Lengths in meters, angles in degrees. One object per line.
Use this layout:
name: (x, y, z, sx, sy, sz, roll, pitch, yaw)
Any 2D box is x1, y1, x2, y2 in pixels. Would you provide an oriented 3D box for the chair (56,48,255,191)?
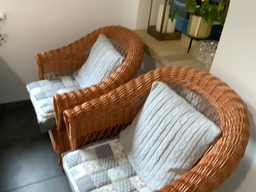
chair: (0.100, 0.340, 1.120, 0.690, 0.900, 0.710, -13, 38, -27)

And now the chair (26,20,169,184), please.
chair: (-0.270, -0.020, 1.620, 0.700, 0.880, 0.710, -13, 38, -27)
